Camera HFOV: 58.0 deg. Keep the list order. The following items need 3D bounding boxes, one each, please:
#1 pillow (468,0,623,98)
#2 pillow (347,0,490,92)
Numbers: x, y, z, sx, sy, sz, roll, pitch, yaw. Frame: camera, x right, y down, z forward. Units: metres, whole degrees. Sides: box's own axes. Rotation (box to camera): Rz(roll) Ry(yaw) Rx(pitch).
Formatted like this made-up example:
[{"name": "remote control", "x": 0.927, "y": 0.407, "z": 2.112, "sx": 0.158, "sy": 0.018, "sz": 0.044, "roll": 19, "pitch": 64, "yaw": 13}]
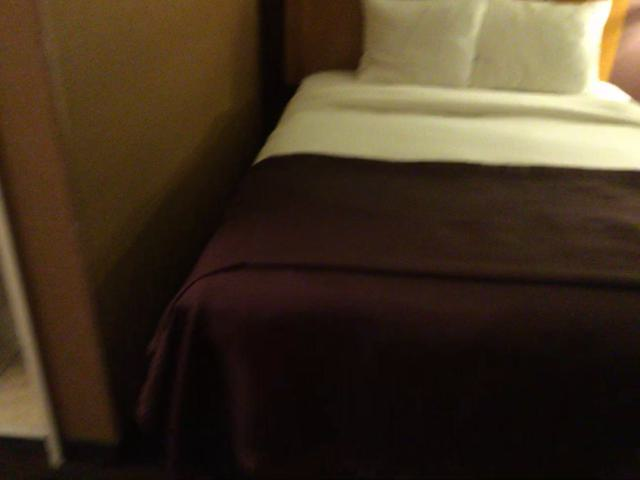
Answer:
[{"name": "pillow", "x": 0.910, "y": -0.840, "z": 2.430, "sx": 0.530, "sy": 0.410, "sz": 0.400, "roll": 4, "pitch": 23, "yaw": 12}, {"name": "pillow", "x": 0.430, "y": -0.890, "z": 2.520, "sx": 0.560, "sy": 0.420, "sz": 0.370, "roll": 4, "pitch": 23, "yaw": 12}]
